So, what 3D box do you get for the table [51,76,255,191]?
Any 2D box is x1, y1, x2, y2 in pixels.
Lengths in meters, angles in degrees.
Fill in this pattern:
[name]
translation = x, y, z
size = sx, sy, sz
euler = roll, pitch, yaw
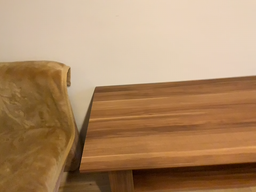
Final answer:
[table]
translation = 0.310, 0.280, 1.100
size = 1.140, 0.520, 0.530
euler = -3, 35, 1
